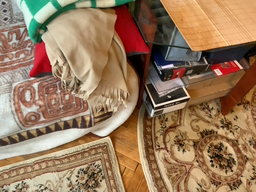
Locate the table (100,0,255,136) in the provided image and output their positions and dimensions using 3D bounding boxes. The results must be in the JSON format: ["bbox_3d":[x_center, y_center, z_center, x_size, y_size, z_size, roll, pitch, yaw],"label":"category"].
[{"bbox_3d":[0.220,-0.440,1.270,0.530,0.620,1.090,-14,60,-12],"label":"table"}]
